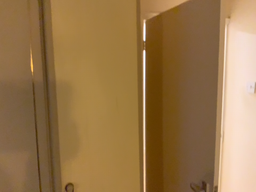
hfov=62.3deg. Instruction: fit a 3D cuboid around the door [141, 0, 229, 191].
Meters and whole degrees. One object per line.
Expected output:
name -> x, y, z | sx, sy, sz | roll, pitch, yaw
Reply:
door -> 0.290, 0.440, 1.410 | 0.060, 1.940, 0.780 | -4, 7, -22
